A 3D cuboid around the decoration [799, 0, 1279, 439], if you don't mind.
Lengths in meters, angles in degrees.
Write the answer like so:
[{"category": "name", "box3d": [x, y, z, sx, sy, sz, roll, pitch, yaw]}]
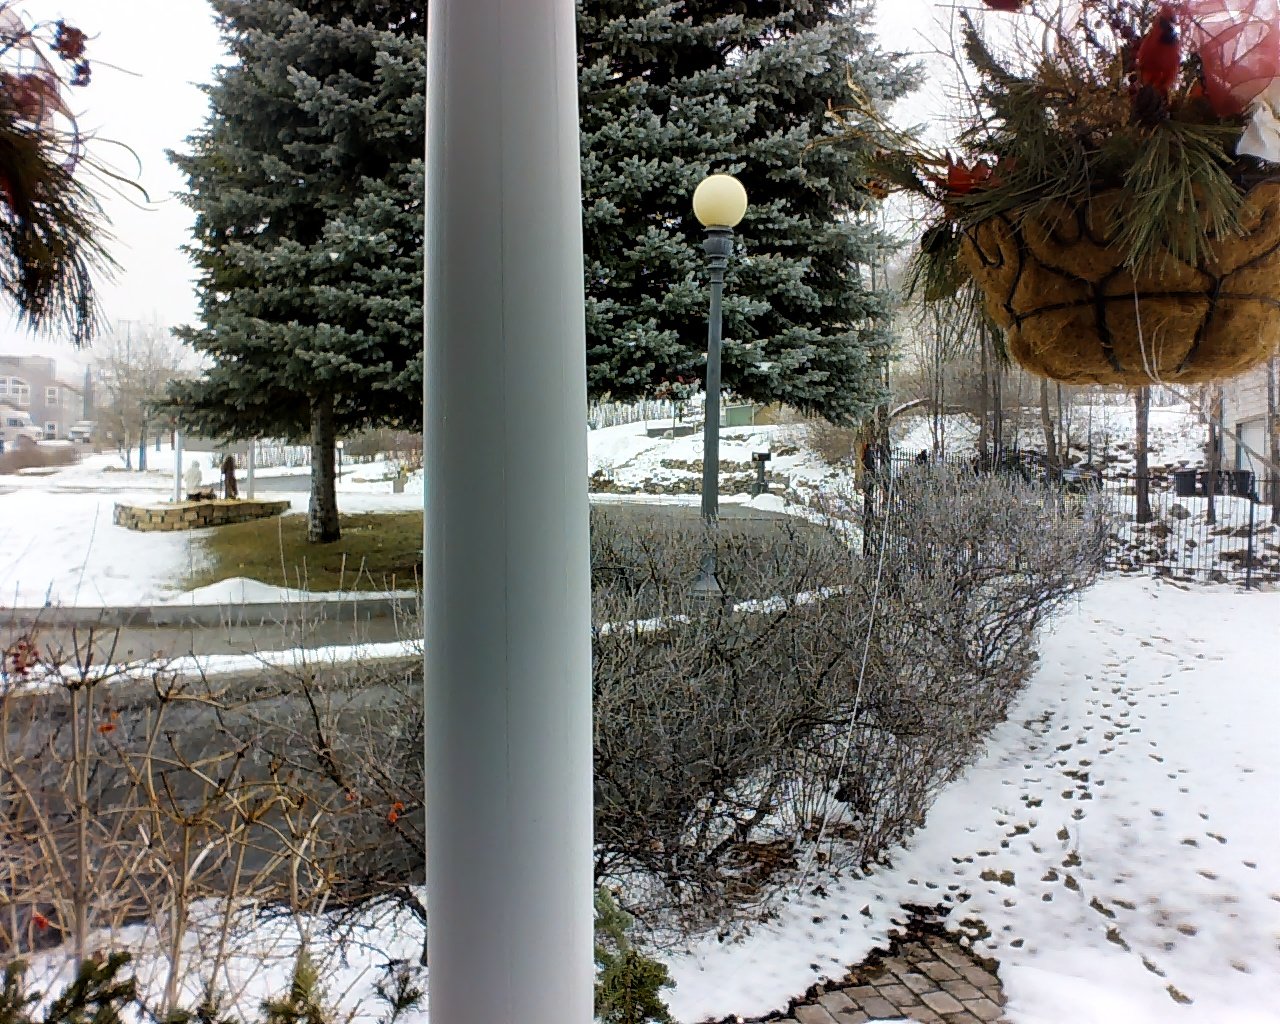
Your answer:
[{"category": "decoration", "box3d": [0.620, -0.440, 1.260, 0.750, 0.660, 0.420, 0, 0, 30]}]
